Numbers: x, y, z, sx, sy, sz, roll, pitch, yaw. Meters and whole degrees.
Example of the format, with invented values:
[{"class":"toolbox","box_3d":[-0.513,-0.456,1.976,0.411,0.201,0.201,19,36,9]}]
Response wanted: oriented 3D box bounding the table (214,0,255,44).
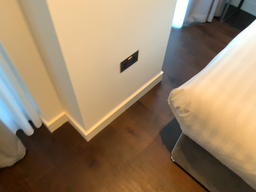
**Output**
[{"class":"table","box_3d":[1.250,-0.950,2.020,0.440,0.620,0.460,-39,65,-25]}]
